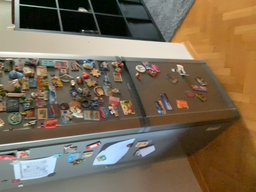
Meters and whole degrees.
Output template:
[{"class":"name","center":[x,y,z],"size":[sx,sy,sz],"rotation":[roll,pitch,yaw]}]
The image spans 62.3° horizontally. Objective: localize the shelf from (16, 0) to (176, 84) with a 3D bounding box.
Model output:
[{"class":"shelf","center":[-0.460,-0.910,2.450],"size":[0.450,1.450,1.610],"rotation":[118,141,-47]}]
